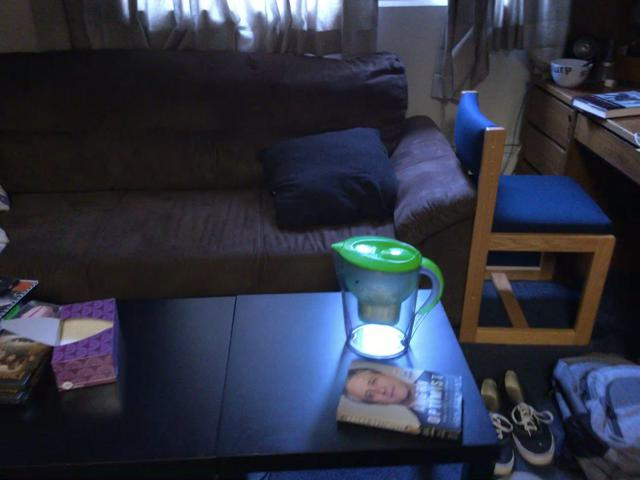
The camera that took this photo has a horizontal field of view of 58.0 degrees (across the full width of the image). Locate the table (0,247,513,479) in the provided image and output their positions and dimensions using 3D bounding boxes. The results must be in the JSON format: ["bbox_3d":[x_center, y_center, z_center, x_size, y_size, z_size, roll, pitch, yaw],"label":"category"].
[{"bbox_3d":[-0.430,0.440,1.420,1.530,0.540,0.660,-3,25,-3],"label":"table"}]

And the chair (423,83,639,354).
[{"bbox_3d":[0.750,-0.100,2.100,0.590,0.810,0.540,-3,25,-3],"label":"chair"}]

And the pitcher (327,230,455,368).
[{"bbox_3d":[0.150,0.130,1.320,0.250,0.240,0.180,-3,25,-3],"label":"pitcher"}]
